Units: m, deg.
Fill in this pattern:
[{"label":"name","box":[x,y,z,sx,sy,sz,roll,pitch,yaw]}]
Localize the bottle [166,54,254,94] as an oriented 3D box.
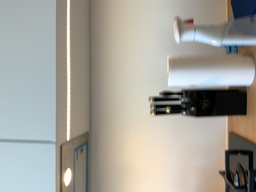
[{"label":"bottle","box":[0.270,-0.070,0.750,0.160,0.260,0.120,1,-91,-83]}]
